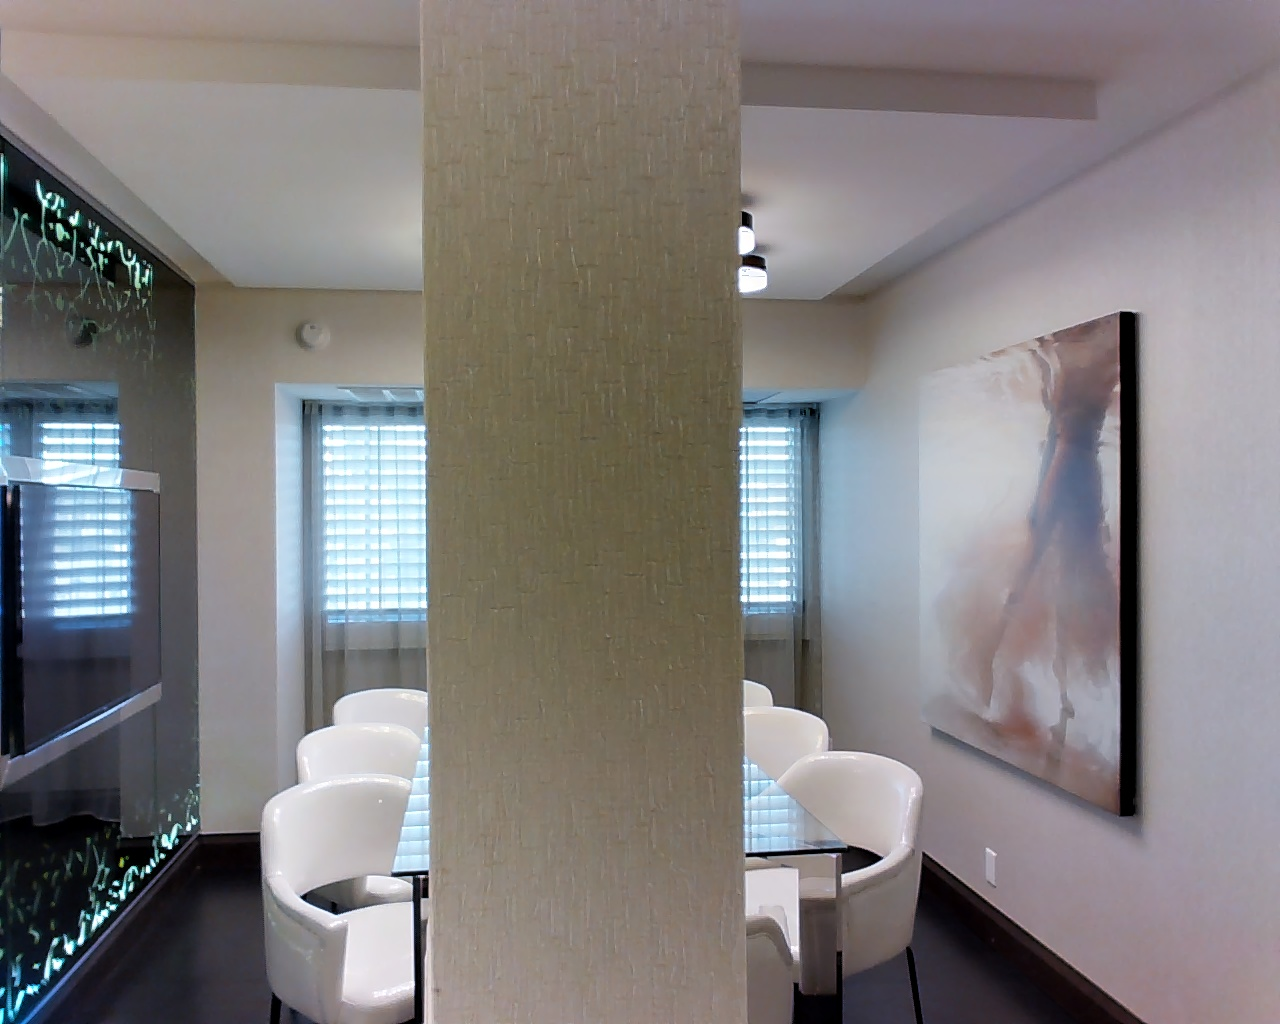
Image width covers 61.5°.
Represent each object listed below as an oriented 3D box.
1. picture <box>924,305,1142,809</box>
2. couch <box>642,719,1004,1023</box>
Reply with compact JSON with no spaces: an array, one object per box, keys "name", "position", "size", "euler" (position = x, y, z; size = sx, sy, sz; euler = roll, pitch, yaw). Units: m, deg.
[{"name":"picture","position":[1.260,0.120,3.640],"size":[0.030,1.380,1.400],"euler":[-1,0,-8]},{"name":"couch","position":[0.500,1.100,3.060],"size":[0.670,0.820,0.760],"euler":[-1,1,-34]}]
